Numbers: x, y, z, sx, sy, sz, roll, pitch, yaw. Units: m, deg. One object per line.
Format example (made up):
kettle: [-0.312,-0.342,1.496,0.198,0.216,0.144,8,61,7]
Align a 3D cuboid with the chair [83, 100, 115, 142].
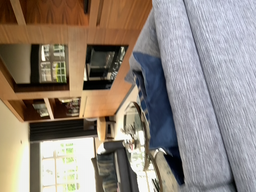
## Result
chair: [-0.870,0.700,6.120,0.880,0.750,0.740,-112,24,-48]

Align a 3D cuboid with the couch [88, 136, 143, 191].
couch: [-0.300,1.570,4.240,1.120,0.790,1.240,122,142,-63]

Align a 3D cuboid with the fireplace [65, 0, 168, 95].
fireplace: [-0.350,-0.620,3.330,1.980,1.150,0.510,125,139,-65]
